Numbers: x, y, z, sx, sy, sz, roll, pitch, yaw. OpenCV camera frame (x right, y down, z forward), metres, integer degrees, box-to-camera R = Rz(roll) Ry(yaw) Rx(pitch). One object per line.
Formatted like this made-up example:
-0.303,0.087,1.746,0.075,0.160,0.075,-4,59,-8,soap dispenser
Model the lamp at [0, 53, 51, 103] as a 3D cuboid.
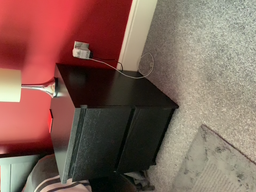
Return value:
-0.590,-0.090,1.100,0.120,0.320,0.220,50,129,50,lamp
